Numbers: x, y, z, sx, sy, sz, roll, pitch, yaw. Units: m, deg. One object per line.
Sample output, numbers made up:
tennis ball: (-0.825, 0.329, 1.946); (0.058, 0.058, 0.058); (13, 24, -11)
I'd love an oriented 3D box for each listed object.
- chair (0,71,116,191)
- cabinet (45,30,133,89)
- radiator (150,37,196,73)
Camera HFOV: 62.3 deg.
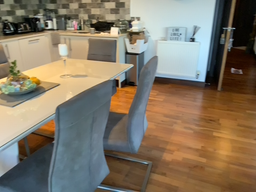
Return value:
chair: (-0.420, 0.430, 1.200); (0.550, 1.000, 0.430); (10, 25, 24)
cabinet: (-0.720, -0.750, 4.110); (1.530, 0.900, 0.590); (9, 25, 21)
radiator: (0.770, -0.720, 3.710); (0.750, 0.550, 0.080); (9, 25, 22)
